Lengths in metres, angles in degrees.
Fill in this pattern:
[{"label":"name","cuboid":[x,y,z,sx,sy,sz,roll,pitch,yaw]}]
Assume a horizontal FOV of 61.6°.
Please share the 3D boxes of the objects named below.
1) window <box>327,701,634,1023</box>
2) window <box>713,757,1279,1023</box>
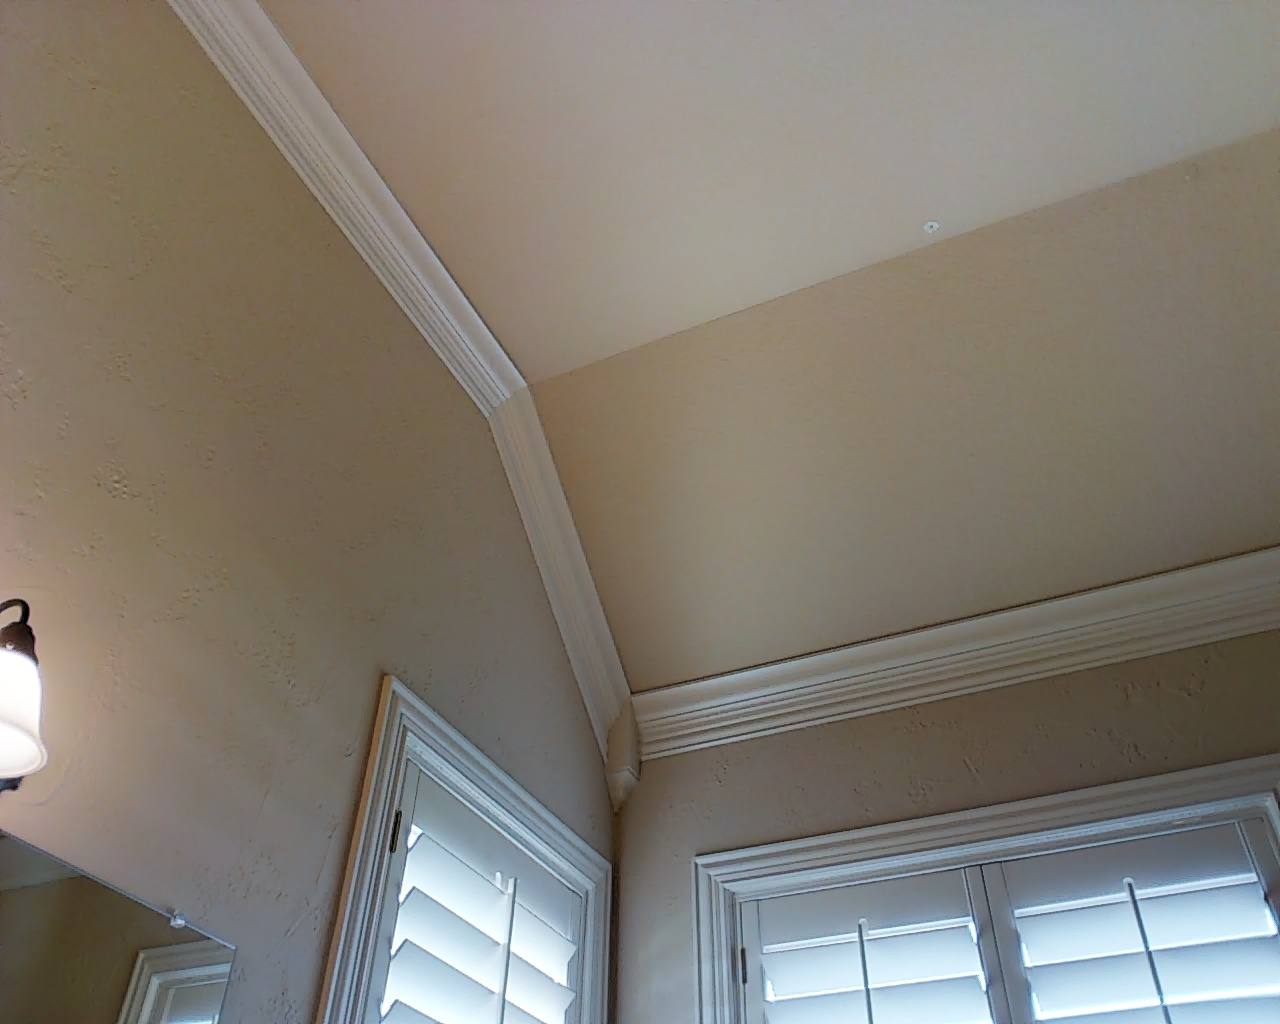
[{"label":"window","cuboid":[-0.260,1.140,1.950,0.070,1.280,0.960,-16,-45,19]},{"label":"window","cuboid":[0.780,1.180,2.020,1.310,1.300,0.090,-16,-45,19]}]
